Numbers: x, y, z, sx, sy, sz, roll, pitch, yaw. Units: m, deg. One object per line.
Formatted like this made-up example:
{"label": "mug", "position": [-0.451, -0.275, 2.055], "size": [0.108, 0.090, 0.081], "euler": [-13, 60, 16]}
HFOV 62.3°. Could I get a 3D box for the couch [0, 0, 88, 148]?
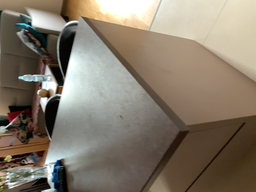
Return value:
{"label": "couch", "position": [-1.590, -0.330, 3.570], "size": [1.110, 1.010, 2.060], "euler": [51, 130, 40]}
